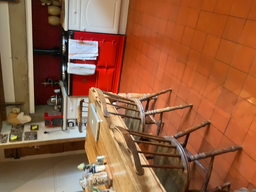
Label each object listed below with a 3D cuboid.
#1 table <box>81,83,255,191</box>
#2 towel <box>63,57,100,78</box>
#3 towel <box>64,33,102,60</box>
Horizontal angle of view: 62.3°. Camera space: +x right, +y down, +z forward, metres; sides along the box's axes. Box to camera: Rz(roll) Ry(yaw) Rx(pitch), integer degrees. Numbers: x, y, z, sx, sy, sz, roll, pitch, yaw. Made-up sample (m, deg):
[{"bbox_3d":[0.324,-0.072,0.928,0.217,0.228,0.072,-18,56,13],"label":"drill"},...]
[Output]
[{"bbox_3d":[0.140,0.550,1.880,1.590,0.780,0.750,-129,43,-55],"label":"table"},{"bbox_3d":[-0.690,-0.420,3.140,0.140,0.510,0.260,-129,43,-55],"label":"towel"},{"bbox_3d":[-0.650,-0.700,3.050,0.140,0.490,0.320,-128,42,-55],"label":"towel"}]
